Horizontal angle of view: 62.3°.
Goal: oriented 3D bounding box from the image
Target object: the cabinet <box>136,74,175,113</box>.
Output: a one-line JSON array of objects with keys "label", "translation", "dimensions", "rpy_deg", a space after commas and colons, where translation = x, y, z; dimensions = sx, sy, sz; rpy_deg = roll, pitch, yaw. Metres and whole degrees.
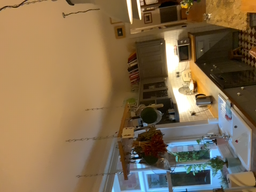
[{"label": "cabinet", "translation": [0.540, -0.100, 4.380], "dimensions": [1.260, 0.670, 0.300], "rpy_deg": [-79, -20, -67]}]

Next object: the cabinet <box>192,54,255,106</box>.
[{"label": "cabinet", "translation": [1.790, -0.340, 4.020], "dimensions": [0.990, 0.900, 0.590], "rpy_deg": [-79, -20, -67]}]

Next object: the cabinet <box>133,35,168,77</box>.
[{"label": "cabinet", "translation": [0.520, -0.920, 4.900], "dimensions": [0.320, 0.680, 0.810], "rpy_deg": [-79, -20, -67]}]
